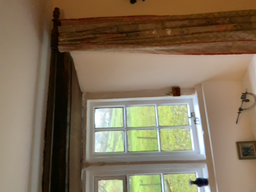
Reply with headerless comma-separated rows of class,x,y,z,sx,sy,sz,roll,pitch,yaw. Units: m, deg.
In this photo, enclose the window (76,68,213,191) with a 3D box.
window,0.100,0.380,1.550,0.160,0.910,1.150,88,180,-77
